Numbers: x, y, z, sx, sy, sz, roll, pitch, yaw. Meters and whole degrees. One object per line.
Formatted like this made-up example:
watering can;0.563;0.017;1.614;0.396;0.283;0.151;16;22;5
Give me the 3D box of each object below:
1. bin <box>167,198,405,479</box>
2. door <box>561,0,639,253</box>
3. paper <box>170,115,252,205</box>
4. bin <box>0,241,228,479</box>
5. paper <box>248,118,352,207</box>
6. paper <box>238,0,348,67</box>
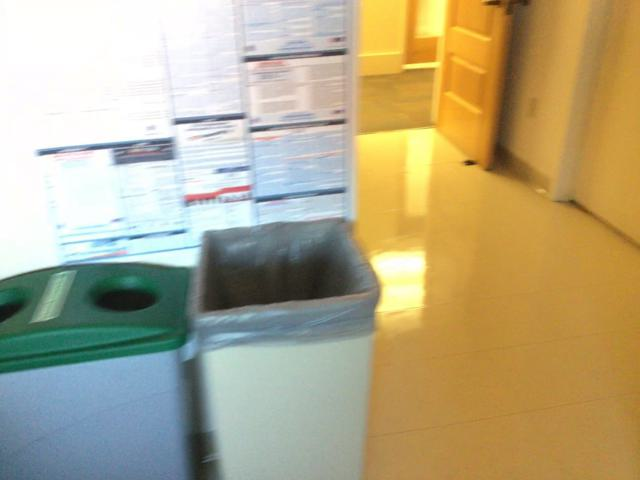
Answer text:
bin;-0.080;0.340;1.360;0.420;0.720;0.410;-9;30;-10
door;1.310;-0.880;2.130;0.110;1.920;0.760;-9;30;-10
paper;-0.230;-0.170;1.240;0.150;0.180;0.020;-9;30;-10
bin;-0.530;0.400;1.310;0.560;0.670;0.280;-9;30;-10
paper;-0.040;-0.170;1.280;0.220;0.170;0.030;-9;30;-10
paper;-0.050;-0.430;1.140;0.210;0.150;0.020;-9;30;-10
